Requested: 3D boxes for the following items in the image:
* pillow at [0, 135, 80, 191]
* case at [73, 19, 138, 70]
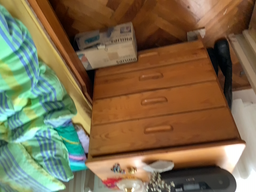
[{"bbox_3d":[-0.590,0.400,1.090,0.560,0.180,0.360,-10,142,10],"label":"pillow"},{"bbox_3d":[-0.110,-0.270,1.110,0.300,0.180,0.130,-8,143,7],"label":"case"}]
